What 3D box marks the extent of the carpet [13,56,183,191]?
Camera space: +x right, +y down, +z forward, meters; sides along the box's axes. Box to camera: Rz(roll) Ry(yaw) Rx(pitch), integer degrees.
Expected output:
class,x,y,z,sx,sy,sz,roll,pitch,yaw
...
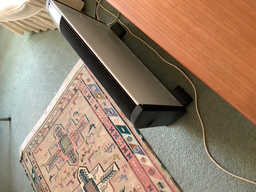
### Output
class,x,y,z,sx,sy,sz,roll,pitch,yaw
carpet,-0.220,0.580,1.210,0.990,0.010,1.370,-50,62,20
